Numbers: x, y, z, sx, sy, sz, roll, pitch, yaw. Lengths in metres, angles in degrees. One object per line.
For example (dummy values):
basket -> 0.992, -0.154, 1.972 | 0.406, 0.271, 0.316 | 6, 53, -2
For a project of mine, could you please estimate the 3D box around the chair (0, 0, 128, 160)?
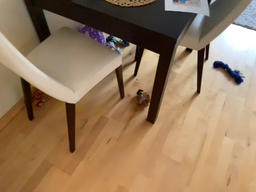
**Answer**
chair -> -0.370, -0.180, 1.150 | 0.450, 0.940, 0.600 | 32, 60, 19
